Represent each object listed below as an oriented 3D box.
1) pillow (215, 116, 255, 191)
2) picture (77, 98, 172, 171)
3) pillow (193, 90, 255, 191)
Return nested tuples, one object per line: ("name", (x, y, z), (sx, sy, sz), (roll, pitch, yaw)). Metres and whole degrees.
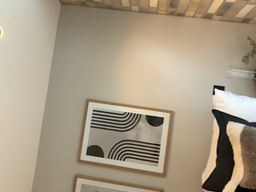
("pillow", (0.640, 0.400, 1.090), (0.120, 0.300, 0.550), (1, -83, -85))
("picture", (-0.030, 0.310, 1.770), (0.060, 0.720, 0.490), (49, -131, -84))
("pillow", (0.700, 0.360, 1.370), (0.360, 0.360, 0.750), (-34, -48, -84))
